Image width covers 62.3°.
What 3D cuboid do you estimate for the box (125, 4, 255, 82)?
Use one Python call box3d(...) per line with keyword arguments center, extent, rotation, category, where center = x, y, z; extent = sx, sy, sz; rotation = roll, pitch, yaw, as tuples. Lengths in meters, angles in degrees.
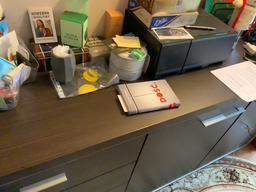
box3d(center=(0.300, -0.270, 0.990), extent=(0.540, 0.190, 0.270), rotation=(-13, 50, -25), category="box")
